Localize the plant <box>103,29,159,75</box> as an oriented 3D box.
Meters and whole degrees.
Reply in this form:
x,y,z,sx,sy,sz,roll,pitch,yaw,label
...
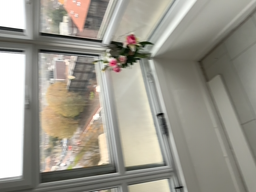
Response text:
x,y,z,sx,sy,sz,roll,pitch,yaw,label
0.020,-0.380,1.960,0.330,0.400,0.350,-166,77,-66,plant
